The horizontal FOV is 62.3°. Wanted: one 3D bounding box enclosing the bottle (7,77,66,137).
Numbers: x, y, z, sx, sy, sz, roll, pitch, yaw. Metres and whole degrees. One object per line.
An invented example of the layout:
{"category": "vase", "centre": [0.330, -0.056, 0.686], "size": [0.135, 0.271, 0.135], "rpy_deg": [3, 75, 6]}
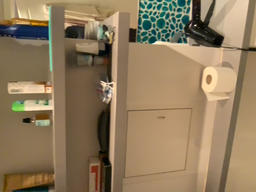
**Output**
{"category": "bottle", "centre": [-0.280, 0.030, 0.670], "size": [0.070, 0.160, 0.170], "rpy_deg": [-150, 61, -69]}
